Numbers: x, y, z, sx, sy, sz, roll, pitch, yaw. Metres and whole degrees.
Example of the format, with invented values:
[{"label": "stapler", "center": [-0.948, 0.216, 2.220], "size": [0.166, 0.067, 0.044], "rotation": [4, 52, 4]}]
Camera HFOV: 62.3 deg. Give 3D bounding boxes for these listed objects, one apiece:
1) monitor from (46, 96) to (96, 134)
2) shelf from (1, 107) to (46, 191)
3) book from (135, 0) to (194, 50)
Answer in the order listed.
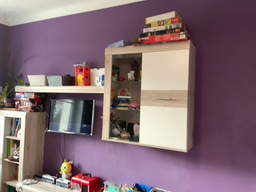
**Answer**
[{"label": "monitor", "center": [-0.750, 0.230, 2.730], "size": [0.740, 0.430, 0.050], "rotation": [2, -5, 28]}, {"label": "shelf", "center": [-1.500, 0.840, 3.040], "size": [0.450, 1.320, 0.330], "rotation": [2, -1, 27]}, {"label": "book", "center": [0.380, -0.710, 2.160], "size": [0.510, 0.370, 0.360], "rotation": [2, -1, 24]}]
